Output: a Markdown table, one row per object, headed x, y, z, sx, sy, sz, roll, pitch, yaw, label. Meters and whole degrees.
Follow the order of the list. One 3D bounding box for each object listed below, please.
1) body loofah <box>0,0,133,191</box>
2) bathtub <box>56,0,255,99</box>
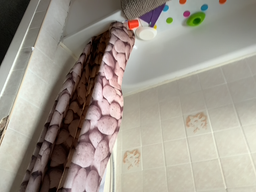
| x | y | z | sx | sy | sz | roll | pitch | yaw | label |
| --- | --- | --- | --- | --- | --- | --- | --- | --- | --- |
| -0.210 | 0.290 | 0.830 | 0.320 | 1.610 | 0.370 | -17 | 142 | 23 | body loofah |
| 0.450 | -0.600 | 1.350 | 1.640 | 0.560 | 0.680 | -17 | 142 | 23 | bathtub |
